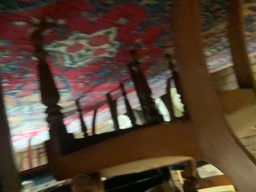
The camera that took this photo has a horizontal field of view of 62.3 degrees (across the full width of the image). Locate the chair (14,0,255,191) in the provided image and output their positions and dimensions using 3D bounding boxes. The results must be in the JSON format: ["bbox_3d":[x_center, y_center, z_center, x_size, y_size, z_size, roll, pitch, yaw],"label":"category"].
[{"bbox_3d":[0.140,0.100,0.630,0.560,0.860,0.550,-7,165,-47],"label":"chair"}]

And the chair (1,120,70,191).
[{"bbox_3d":[-0.950,0.790,2.280,0.440,0.910,0.480,-15,169,-15],"label":"chair"}]
